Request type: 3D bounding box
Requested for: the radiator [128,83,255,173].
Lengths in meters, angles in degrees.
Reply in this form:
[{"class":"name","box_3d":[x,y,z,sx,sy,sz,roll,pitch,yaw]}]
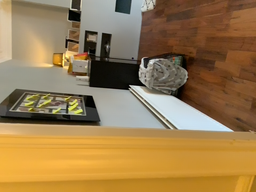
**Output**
[{"class":"radiator","box_3d":[0.530,0.180,2.240,1.770,0.650,0.100,-125,42,-67]}]
